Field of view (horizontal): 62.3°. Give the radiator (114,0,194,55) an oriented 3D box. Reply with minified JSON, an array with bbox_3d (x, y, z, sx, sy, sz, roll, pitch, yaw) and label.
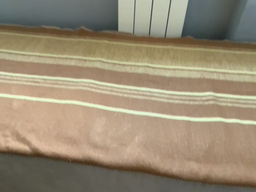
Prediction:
[{"bbox_3d":[0.120,-0.460,1.010,0.360,0.510,0.110,5,43,2],"label":"radiator"}]
